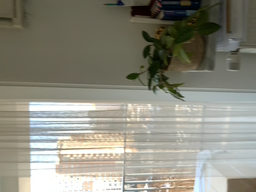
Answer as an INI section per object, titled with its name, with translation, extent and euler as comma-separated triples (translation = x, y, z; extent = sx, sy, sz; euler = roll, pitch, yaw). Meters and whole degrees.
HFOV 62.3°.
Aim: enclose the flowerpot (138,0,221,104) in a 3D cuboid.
[flowerpot]
translation = 0.180, -0.160, 0.830
extent = 0.220, 0.220, 0.340
euler = -133, 46, -77
